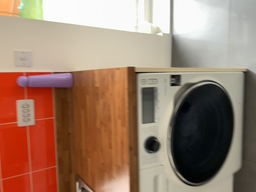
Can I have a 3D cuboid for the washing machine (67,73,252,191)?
[{"bbox_3d":[0.190,0.160,1.310,0.670,0.890,0.580,6,99,54],"label":"washing machine"}]
